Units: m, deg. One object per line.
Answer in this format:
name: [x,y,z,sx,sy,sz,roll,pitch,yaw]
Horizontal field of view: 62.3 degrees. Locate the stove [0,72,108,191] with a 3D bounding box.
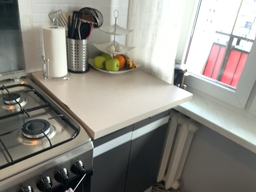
stove: [-0.470,0.110,0.810,0.500,0.120,0.620,-17,36,-40]
